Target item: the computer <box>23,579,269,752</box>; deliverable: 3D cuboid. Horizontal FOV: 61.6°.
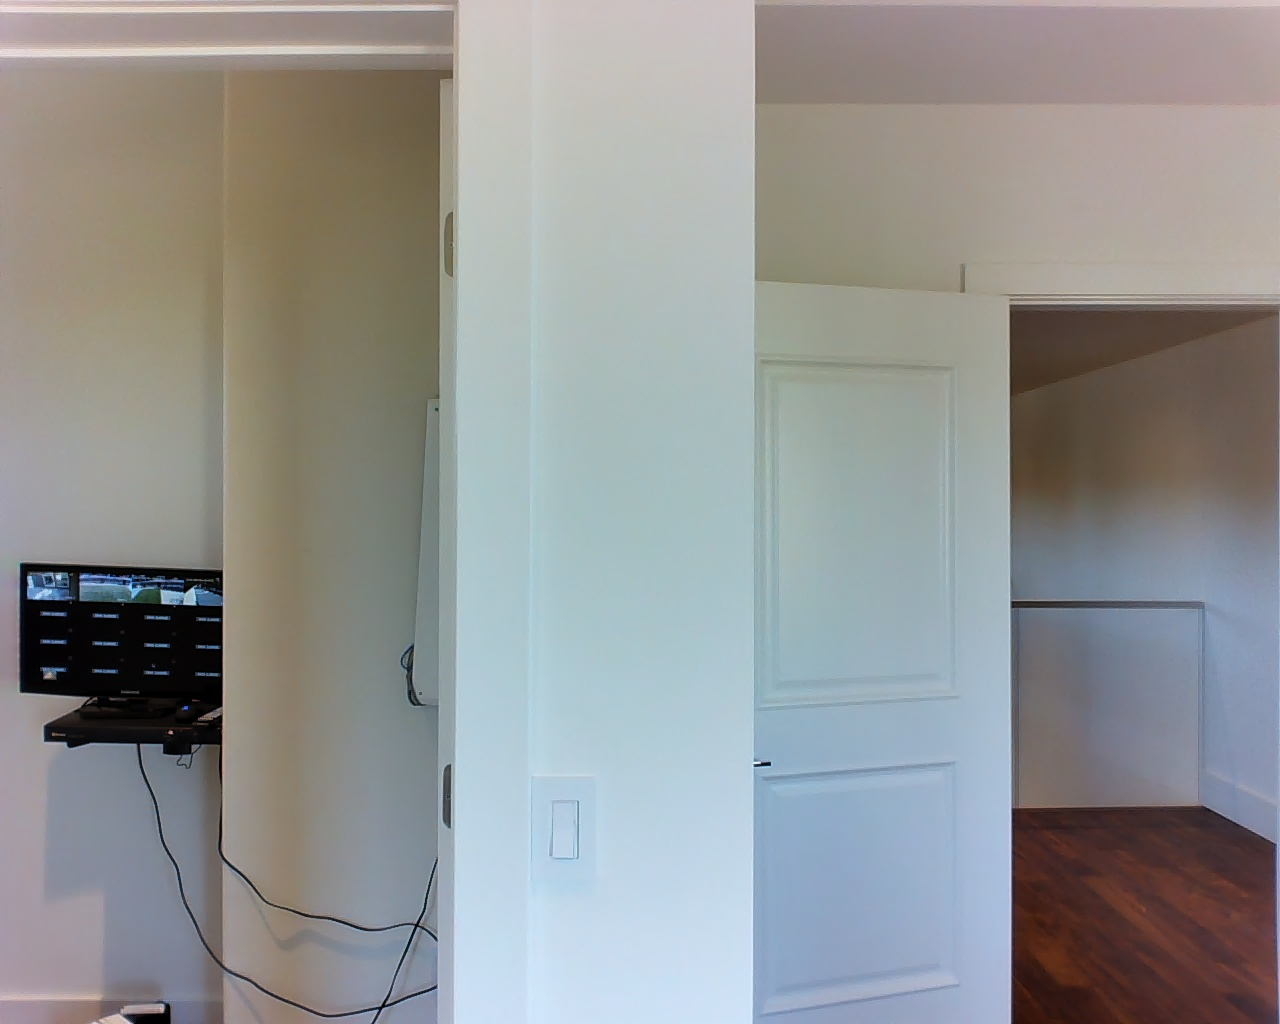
[{"bbox_3d":[-1.280,0.390,2.830,0.470,0.400,0.390,0,0,0],"label":"computer"}]
